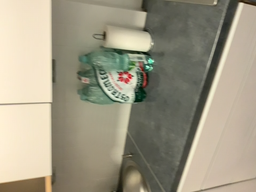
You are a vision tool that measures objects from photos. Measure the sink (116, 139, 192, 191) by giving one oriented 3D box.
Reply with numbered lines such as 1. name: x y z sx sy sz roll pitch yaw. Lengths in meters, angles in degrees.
1. sink: 0.120 0.590 1.300 0.470 0.190 0.440 -130 45 -56

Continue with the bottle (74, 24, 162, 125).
1. bottle: -0.070 -0.100 1.060 0.170 0.350 0.440 -132 46 -57
